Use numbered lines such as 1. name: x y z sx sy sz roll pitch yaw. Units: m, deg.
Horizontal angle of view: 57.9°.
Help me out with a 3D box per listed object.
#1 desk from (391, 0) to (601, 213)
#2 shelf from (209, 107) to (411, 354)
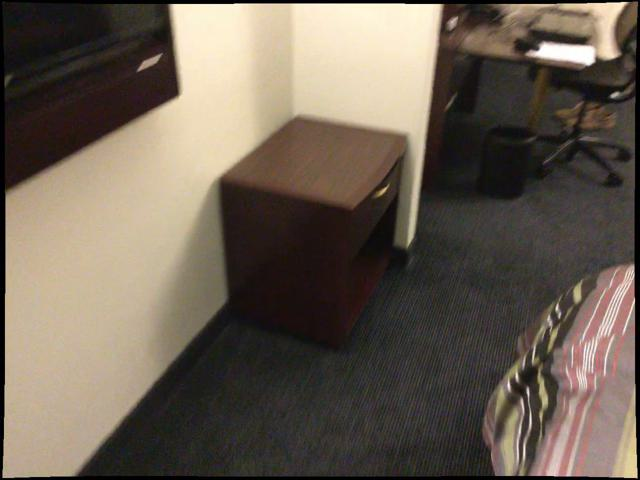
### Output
1. desk: 1.019 -0.861 3.250 0.839 0.751 1.270 14 35 18
2. shelf: -0.010 -0.070 2.160 0.480 0.600 0.640 14 35 18
